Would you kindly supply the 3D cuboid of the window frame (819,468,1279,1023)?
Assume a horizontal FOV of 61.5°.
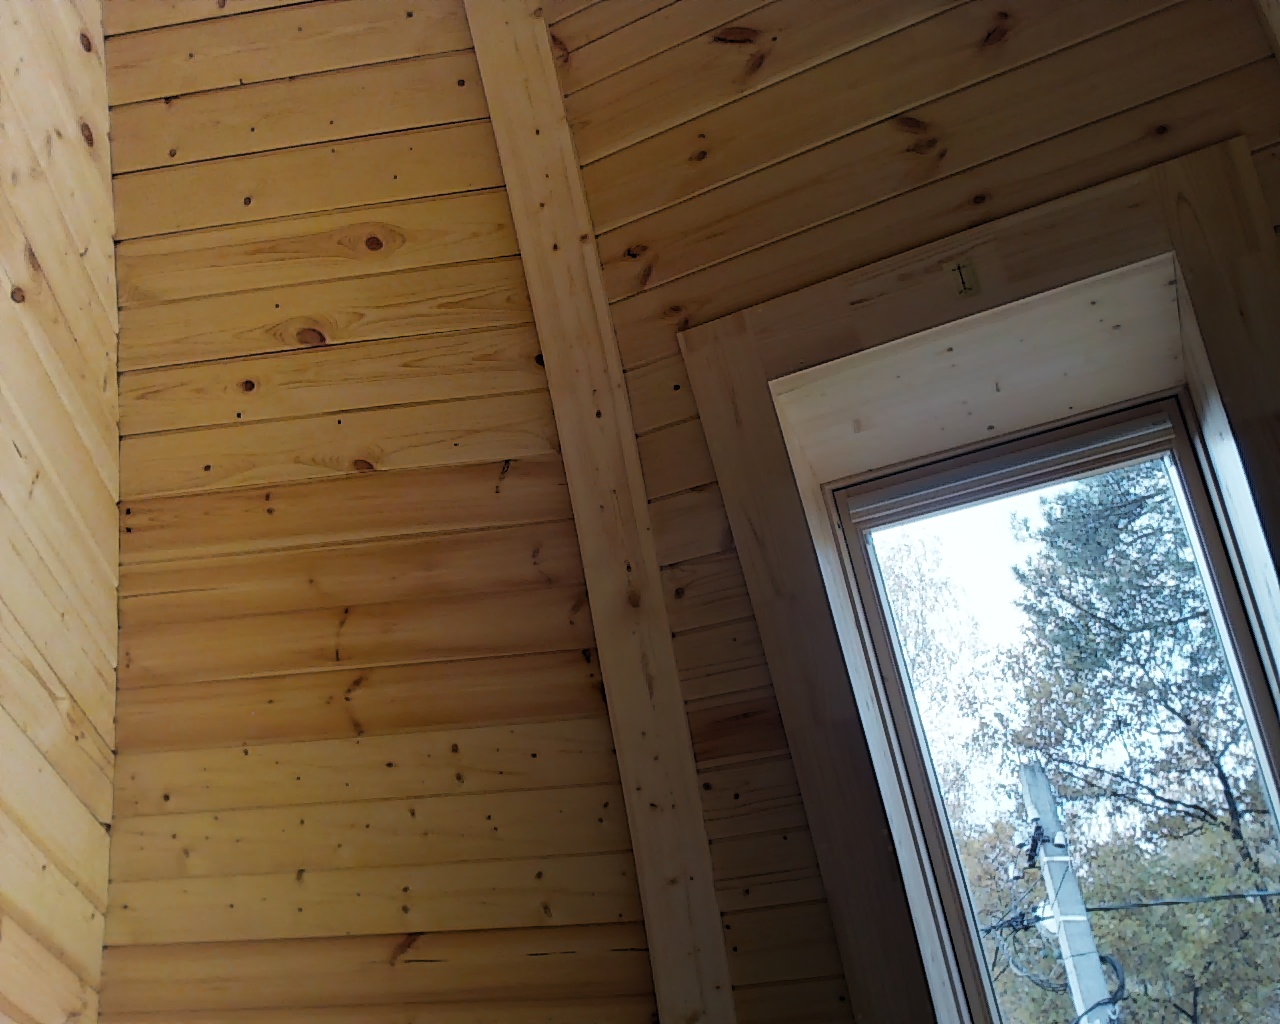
[{"bbox_3d":[0.840,0.420,2.000,0.790,0.480,1.730,-21,8,10],"label":"window frame"}]
